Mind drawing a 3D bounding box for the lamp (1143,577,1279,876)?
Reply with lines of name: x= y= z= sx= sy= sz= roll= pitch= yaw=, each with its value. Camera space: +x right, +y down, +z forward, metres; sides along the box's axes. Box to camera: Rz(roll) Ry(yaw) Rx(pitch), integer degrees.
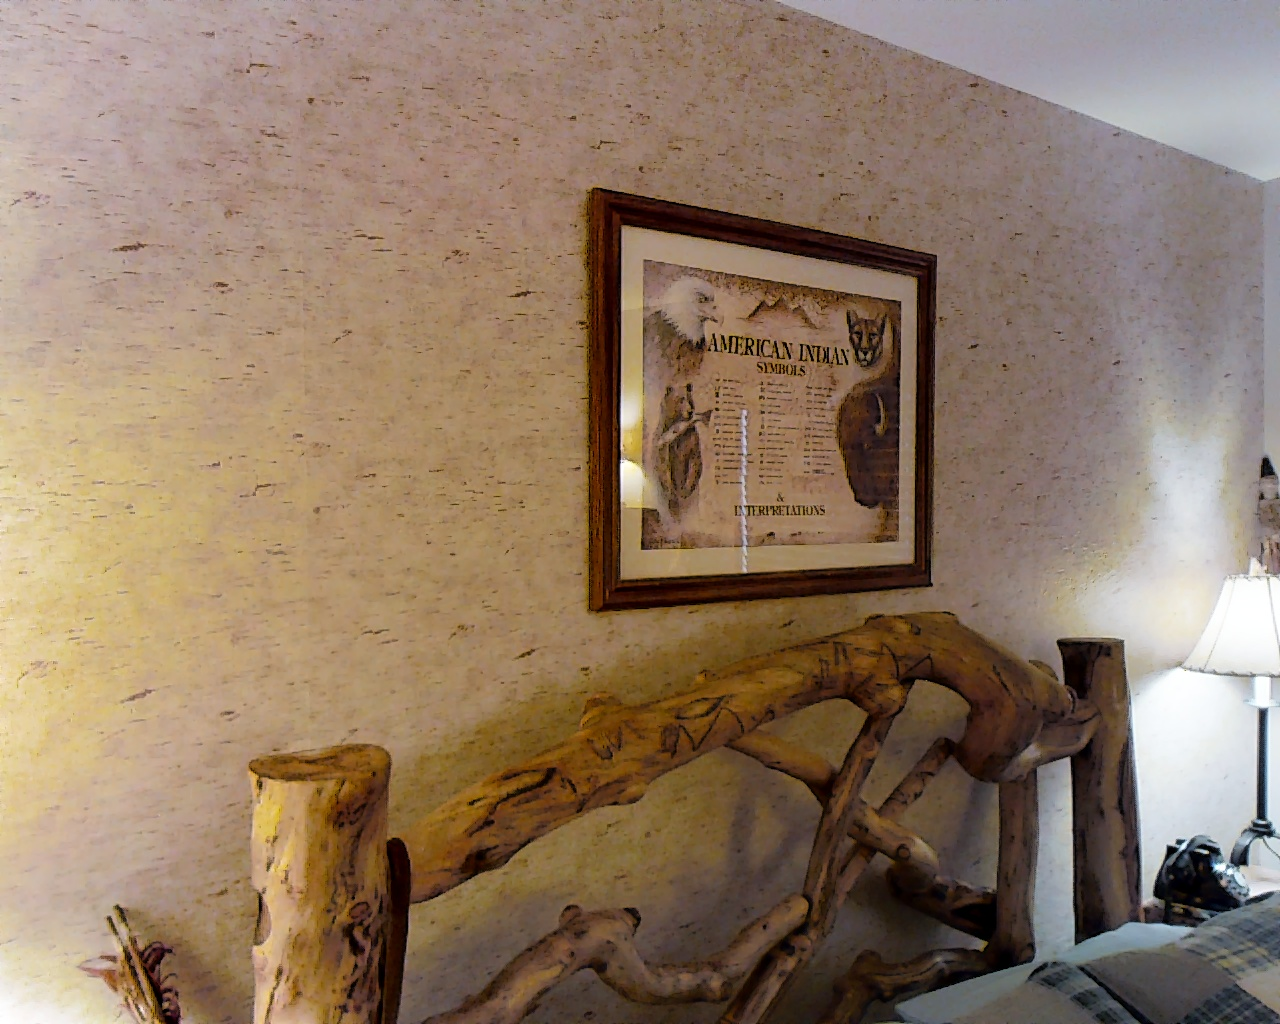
lamp: x=1.440 y=0.510 z=2.690 sx=0.420 sy=0.670 sz=0.150 roll=-1 pitch=1 yaw=-37
